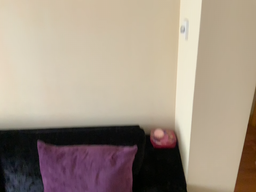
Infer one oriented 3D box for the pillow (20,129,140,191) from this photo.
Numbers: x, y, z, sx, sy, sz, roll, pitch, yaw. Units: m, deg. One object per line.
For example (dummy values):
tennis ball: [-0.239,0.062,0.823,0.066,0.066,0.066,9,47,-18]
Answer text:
pillow: [-0.200,0.470,1.100,0.500,0.490,0.240,-7,10,4]
